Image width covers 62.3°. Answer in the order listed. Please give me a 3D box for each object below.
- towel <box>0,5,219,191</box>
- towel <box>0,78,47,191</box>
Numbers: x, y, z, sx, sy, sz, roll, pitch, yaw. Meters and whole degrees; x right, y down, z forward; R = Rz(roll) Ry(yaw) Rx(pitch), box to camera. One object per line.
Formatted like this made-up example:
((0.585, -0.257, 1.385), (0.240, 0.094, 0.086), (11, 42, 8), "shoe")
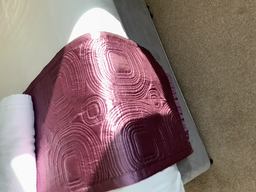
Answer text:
((-0.450, 0.280, 1.090), (1.550, 0.470, 0.480), (-25, 72, 33), "towel")
((-0.460, 0.190, 0.780), (0.280, 0.130, 0.430), (-25, 72, 33), "towel")
